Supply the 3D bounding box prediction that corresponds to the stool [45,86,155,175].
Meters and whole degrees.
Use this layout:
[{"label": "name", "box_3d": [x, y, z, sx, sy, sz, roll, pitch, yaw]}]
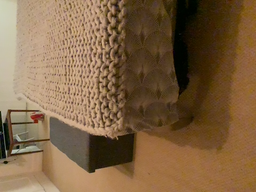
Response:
[{"label": "stool", "box_3d": [-0.270, 0.170, 1.560, 0.880, 0.390, 0.410, 9, 96, 52]}]
